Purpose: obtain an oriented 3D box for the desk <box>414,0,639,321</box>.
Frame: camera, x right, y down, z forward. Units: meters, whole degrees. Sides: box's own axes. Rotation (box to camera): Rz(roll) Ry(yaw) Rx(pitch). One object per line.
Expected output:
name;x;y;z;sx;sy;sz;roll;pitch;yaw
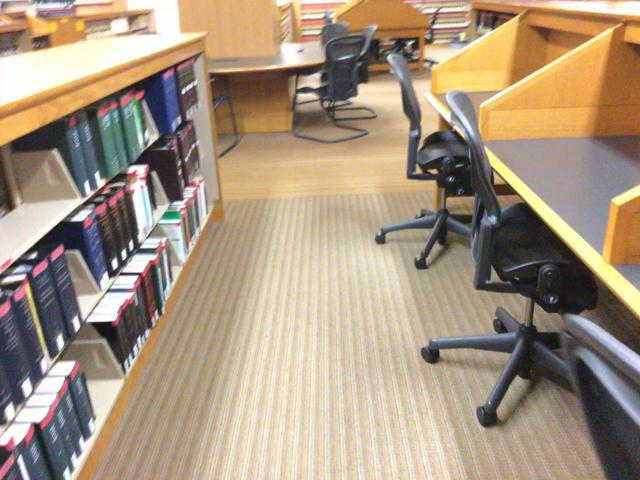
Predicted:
desk;0.990;-0.540;2.880;0.790;1.250;1.430;-4;24;1
